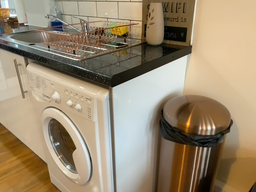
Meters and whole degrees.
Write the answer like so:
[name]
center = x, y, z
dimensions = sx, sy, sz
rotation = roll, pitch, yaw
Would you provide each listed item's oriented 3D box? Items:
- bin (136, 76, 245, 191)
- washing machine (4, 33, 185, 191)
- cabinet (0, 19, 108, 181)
[bin]
center = 0.290, 0.360, 1.100
dimensions = 0.310, 0.800, 0.400
rotation = 20, 32, 37
[washing machine]
center = -0.150, 0.170, 1.250
dimensions = 0.630, 0.920, 0.630
rotation = 20, 32, 36
[cabinet]
center = -0.930, -0.130, 1.890
dimensions = 1.480, 0.920, 0.590
rotation = 20, 32, 36
